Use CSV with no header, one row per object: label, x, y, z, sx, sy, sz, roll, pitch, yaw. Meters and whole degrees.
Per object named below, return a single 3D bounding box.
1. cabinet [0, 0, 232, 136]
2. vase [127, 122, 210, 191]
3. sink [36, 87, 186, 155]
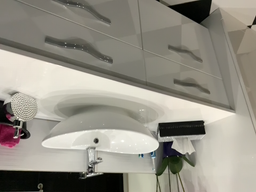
cabinet,-0.080,-0.260,1.210,1.170,0.740,0.510,13,150,-30
vase,0.240,0.540,1.360,0.230,0.610,0.460,16,148,-34
sink,-0.080,0.170,1.080,0.640,0.150,0.370,13,150,-30
